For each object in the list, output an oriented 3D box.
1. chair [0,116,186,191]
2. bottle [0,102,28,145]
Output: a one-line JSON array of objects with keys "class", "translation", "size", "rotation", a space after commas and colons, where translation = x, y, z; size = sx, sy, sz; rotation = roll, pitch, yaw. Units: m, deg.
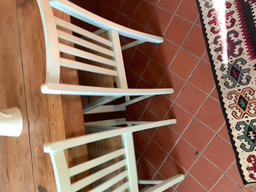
[{"class": "chair", "translation": [-0.110, 0.360, 1.120], "size": [0.450, 0.850, 0.390], "rotation": [-12, 83, 38]}, {"class": "bottle", "translation": [-0.630, 0.140, 0.990], "size": [0.230, 0.200, 0.180], "rotation": [-13, 82, 38]}]
